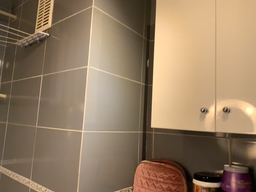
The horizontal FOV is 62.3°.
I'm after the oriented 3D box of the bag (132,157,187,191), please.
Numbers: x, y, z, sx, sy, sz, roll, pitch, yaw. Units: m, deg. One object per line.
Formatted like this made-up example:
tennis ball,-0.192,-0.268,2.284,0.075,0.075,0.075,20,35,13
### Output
bag,0.140,0.360,0.950,0.200,0.130,0.130,-4,-11,42
